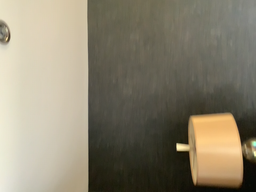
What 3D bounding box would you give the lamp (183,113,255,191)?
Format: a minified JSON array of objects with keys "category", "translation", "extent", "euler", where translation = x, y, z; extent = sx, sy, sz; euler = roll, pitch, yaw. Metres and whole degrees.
[{"category":"lamp","translation":[0.860,0.390,1.350],"extent":[0.560,0.910,0.560],"euler":[29,-119,-81]}]
